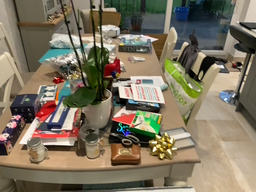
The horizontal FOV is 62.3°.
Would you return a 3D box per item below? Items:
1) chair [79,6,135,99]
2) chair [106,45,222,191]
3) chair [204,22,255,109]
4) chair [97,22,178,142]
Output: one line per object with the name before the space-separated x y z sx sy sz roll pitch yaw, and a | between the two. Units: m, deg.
chair | -0.270 -0.560 2.640 0.450 0.940 0.600 -13 35 -22
chair | 0.150 0.170 1.510 0.590 0.930 0.490 -1 32 -5
chair | 1.310 -0.350 2.490 0.460 0.880 0.500 0 32 -4
chair | 0.080 -0.120 1.940 0.580 0.950 0.430 7 32 7
